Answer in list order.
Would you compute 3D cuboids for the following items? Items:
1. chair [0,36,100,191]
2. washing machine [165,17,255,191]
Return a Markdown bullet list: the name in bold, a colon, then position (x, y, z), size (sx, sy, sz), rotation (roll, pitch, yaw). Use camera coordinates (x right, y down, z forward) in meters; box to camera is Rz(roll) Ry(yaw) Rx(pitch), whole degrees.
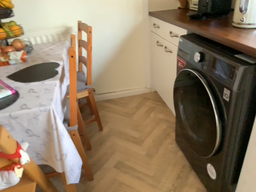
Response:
- **chair**: position (-0.480, 0.140, 1.300), size (0.470, 0.880, 0.320), rotation (-9, 29, -8)
- **washing machine**: position (0.680, 0.070, 1.280), size (0.710, 0.900, 0.650), rotation (-9, 29, -8)
